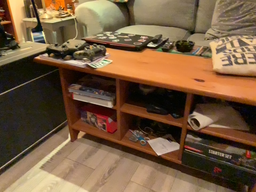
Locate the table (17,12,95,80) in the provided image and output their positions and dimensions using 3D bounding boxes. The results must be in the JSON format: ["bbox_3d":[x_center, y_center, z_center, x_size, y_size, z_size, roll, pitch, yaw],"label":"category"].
[{"bbox_3d":[-0.720,-0.570,2.270,0.440,0.550,0.590,13,30,22],"label":"table"}]

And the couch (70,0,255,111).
[{"bbox_3d":[0.590,-0.620,2.010,1.970,0.910,0.980,12,30,22],"label":"couch"}]
